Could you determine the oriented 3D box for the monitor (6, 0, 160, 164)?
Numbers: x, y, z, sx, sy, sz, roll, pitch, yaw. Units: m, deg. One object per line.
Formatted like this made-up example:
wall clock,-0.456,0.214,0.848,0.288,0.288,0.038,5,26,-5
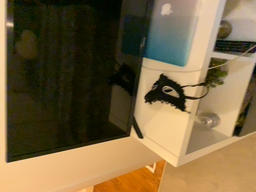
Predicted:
monitor,-0.100,-0.180,0.630,0.040,0.450,0.730,27,113,46
